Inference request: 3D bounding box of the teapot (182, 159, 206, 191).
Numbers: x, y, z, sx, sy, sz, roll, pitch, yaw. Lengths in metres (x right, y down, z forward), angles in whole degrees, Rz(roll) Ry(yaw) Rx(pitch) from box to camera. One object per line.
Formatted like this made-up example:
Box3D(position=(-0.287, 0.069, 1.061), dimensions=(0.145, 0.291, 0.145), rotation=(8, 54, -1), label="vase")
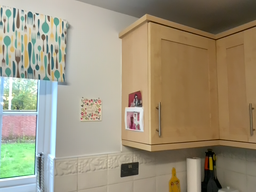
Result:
Box3D(position=(0.520, 0.650, 1.670), dimensions=(0.140, 0.270, 0.110), rotation=(3, -6, -33), label="teapot")
